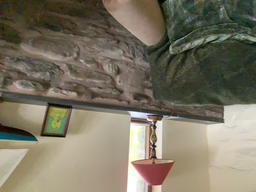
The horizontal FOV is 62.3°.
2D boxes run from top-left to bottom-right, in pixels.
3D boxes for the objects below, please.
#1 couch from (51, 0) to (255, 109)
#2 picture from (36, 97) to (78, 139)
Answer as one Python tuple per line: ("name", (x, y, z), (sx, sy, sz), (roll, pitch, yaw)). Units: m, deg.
("couch", (0.410, -0.430, 1.090), (0.920, 0.830, 1.090), (-2, 167, 24))
("picture", (-0.440, 0.140, 1.320), (0.160, 0.200, 0.090), (32, 160, -18))
